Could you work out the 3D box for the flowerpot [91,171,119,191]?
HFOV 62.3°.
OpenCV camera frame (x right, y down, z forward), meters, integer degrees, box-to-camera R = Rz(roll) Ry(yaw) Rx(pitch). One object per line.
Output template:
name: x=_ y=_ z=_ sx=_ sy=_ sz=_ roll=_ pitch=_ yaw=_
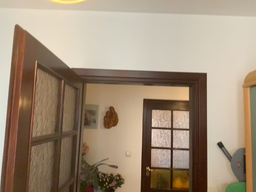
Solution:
flowerpot: x=-0.300 y=1.180 z=2.780 sx=0.330 sy=0.310 sz=0.250 roll=2 pitch=-7 yaw=0
